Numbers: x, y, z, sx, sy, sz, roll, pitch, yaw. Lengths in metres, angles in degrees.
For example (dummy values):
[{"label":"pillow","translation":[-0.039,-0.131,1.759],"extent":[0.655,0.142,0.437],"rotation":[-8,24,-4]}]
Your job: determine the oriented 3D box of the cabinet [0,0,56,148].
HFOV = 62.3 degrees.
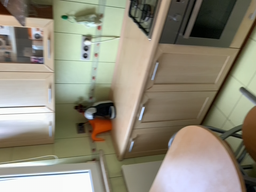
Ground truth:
[{"label":"cabinet","translation":[-0.990,-0.110,1.690],"extent":[0.320,0.760,1.190],"rotation":[-115,32,-48]}]
